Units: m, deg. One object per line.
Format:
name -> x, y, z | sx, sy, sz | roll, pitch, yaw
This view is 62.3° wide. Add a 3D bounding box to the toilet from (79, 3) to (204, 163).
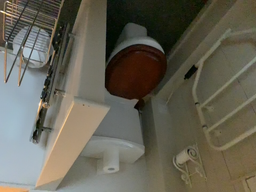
toilet -> 0.010, -0.060, 1.490 | 0.470, 0.770, 0.700 | 14, 137, -20
